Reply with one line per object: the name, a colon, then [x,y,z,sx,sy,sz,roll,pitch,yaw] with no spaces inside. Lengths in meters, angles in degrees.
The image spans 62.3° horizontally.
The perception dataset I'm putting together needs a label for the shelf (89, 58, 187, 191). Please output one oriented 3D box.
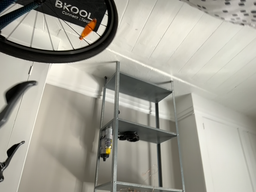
shelf: [0.090,0.450,1.700,0.660,1.430,0.300,18,145,-27]
